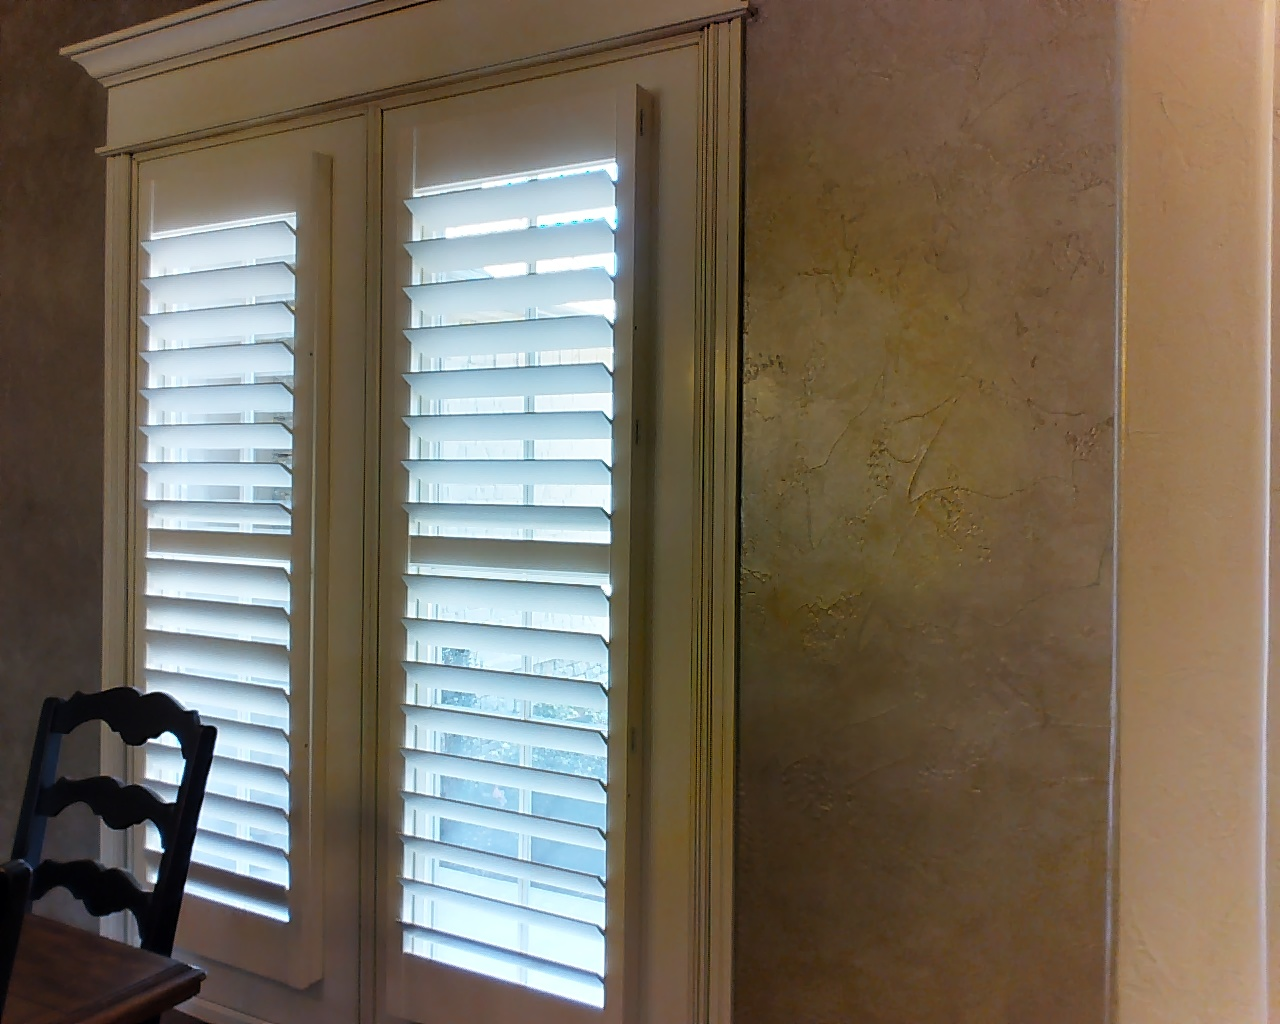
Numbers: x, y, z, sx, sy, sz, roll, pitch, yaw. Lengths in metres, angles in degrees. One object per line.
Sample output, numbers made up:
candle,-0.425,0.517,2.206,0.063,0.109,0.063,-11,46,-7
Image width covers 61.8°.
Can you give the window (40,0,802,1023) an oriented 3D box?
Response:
window,-0.710,0.030,2.670,2.260,2.850,0.170,1,0,29
